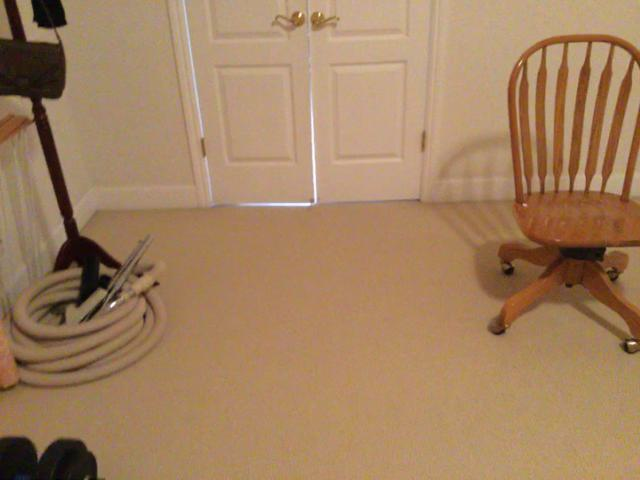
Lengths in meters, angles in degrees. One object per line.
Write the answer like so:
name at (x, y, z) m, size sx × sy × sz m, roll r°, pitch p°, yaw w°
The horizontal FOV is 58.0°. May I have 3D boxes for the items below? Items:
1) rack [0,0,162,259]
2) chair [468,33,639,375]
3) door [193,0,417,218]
rack at (-0.890, -0.700, 1.930) m, size 0.300 × 1.540 × 0.300 m, roll -5°, pitch 26°, yaw 4°
chair at (0.860, -0.130, 1.900) m, size 0.610 × 0.930 × 0.530 m, roll -7°, pitch 26°, yaw 1°
door at (-0.060, -1.000, 2.560) m, size 0.960 × 1.890 × 0.110 m, roll -3°, pitch 27°, yaw 3°
